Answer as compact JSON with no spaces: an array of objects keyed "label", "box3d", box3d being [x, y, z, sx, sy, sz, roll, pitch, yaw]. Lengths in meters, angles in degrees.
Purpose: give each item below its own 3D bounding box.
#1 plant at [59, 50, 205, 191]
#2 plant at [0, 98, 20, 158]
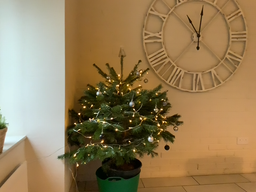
[{"label":"plant","box3d":[-0.030,0.320,1.890,0.980,1.280,0.900,0,5,-9]},{"label":"plant","box3d":[-0.820,0.190,1.340,0.170,0.330,0.250,0,5,-10]}]
